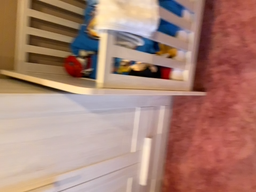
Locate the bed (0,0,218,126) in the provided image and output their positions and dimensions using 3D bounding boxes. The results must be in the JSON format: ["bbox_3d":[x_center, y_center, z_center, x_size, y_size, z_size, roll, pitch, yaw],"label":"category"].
[{"bbox_3d":[-0.040,-0.760,1.150,0.780,0.910,1.590,12,99,41],"label":"bed"}]
